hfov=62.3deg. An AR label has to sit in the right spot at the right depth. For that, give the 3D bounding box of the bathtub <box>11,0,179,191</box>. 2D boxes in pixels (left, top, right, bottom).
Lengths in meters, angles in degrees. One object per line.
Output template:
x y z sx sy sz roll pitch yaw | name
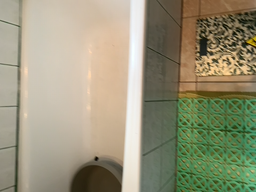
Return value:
-0.150 0.040 1.120 0.690 0.500 1.630 1 90 28 | bathtub

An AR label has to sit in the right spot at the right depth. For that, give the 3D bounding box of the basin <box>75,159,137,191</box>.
-0.130 0.560 1.230 0.320 0.160 0.310 0 89 28 | basin
